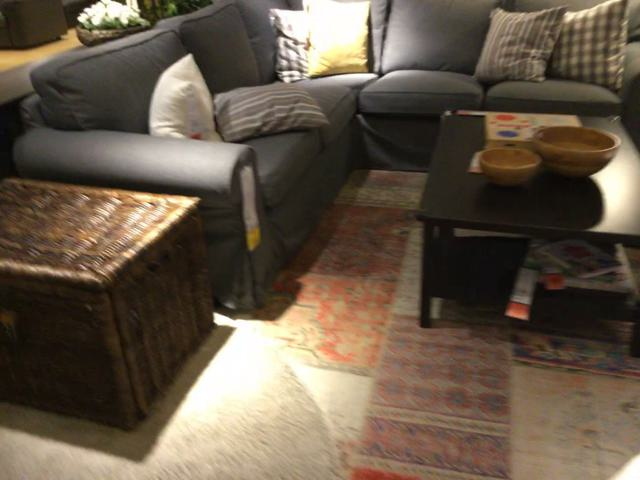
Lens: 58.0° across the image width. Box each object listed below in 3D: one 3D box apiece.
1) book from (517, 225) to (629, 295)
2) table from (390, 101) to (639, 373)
[{"bbox_3d":[0.850,0.060,1.970,0.320,0.090,0.250,7,29,17],"label":"book"},{"bbox_3d":[0.790,-0.120,2.220,0.800,0.510,1.140,7,29,17],"label":"table"}]
